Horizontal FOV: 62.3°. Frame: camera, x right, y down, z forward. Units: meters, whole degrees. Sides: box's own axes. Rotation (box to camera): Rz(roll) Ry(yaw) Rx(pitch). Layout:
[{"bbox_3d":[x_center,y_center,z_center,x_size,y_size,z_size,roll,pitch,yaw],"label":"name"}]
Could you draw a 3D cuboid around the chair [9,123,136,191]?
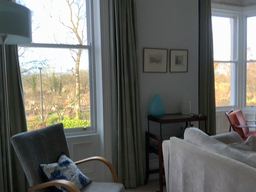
[{"bbox_3d":[-0.430,0.730,1.820,0.860,0.850,0.570,1,4,19],"label":"chair"}]
